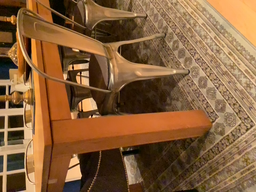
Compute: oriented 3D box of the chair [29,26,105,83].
[{"bbox_3d":[-0.720,-0.450,2.430,0.340,0.740,0.490,66,146,36],"label":"chair"}]
